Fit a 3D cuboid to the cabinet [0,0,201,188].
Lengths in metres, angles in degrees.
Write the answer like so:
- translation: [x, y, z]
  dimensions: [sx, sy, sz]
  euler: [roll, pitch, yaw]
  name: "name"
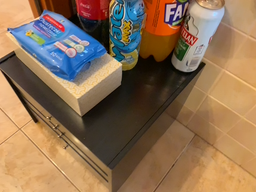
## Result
- translation: [-0.070, -0.010, 0.620]
  dimensions: [0.350, 0.300, 0.320]
  euler: [37, 62, 18]
  name: "cabinet"
